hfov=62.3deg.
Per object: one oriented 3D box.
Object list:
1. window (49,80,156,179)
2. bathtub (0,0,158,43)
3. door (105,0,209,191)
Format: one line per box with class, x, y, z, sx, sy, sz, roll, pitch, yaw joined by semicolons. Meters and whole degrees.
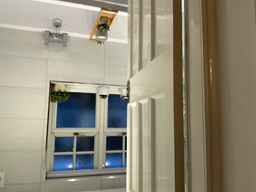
window;-0.280;0.390;2.560;1.180;1.030;0.370;3;173;-16
bathtub;-0.630;-0.990;2.020;1.680;0.550;0.690;3;173;-16
door;0.060;-0.320;1.180;0.170;2.110;0.980;3;173;-14
